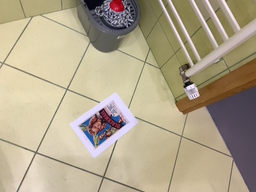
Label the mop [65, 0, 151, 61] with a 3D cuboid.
[{"bbox_3d":[-0.130,-0.450,1.130,0.290,0.290,0.360,-22,81,-20],"label":"mop"}]
